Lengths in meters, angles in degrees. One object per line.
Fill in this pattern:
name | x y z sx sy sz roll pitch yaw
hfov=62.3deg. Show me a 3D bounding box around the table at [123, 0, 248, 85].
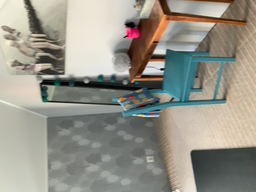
table | 0.440 -0.460 1.930 0.850 0.730 0.290 118 145 -55
